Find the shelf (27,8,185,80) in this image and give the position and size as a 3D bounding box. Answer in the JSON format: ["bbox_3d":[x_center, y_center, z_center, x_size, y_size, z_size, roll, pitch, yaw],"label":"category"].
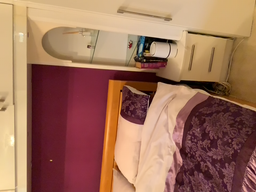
[{"bbox_3d":[-0.160,-0.360,1.630,0.390,1.080,0.360,-146,60,-67],"label":"shelf"}]
